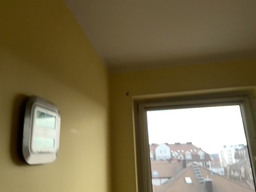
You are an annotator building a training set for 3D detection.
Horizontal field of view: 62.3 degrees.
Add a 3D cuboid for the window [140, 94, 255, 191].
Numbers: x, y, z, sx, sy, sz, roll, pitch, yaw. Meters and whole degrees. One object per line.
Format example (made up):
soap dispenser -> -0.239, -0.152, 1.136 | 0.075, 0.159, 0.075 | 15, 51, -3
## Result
window -> 0.680, 0.760, 2.060 | 1.100, 1.500, 0.200 | 3, -15, 5
